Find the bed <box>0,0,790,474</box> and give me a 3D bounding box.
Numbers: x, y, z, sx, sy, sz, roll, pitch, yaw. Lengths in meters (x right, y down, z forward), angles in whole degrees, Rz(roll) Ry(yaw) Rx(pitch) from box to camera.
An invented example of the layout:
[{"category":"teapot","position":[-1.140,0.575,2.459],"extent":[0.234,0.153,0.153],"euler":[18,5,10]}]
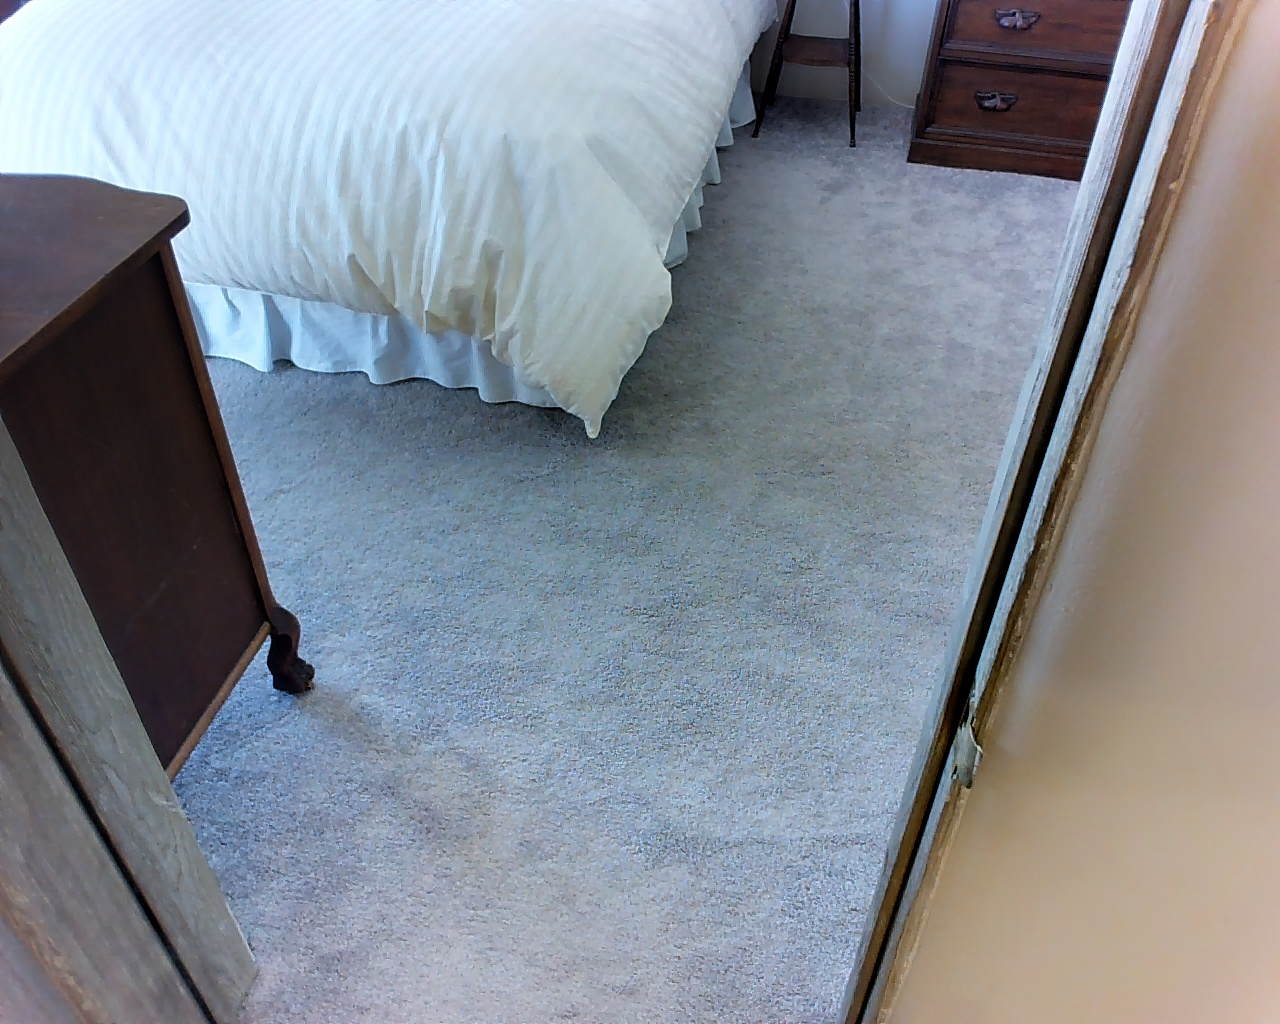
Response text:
[{"category":"bed","position":[-0.640,-1.400,2.920],"extent":[1.900,1.190,2.280],"euler":[9,41,9]}]
